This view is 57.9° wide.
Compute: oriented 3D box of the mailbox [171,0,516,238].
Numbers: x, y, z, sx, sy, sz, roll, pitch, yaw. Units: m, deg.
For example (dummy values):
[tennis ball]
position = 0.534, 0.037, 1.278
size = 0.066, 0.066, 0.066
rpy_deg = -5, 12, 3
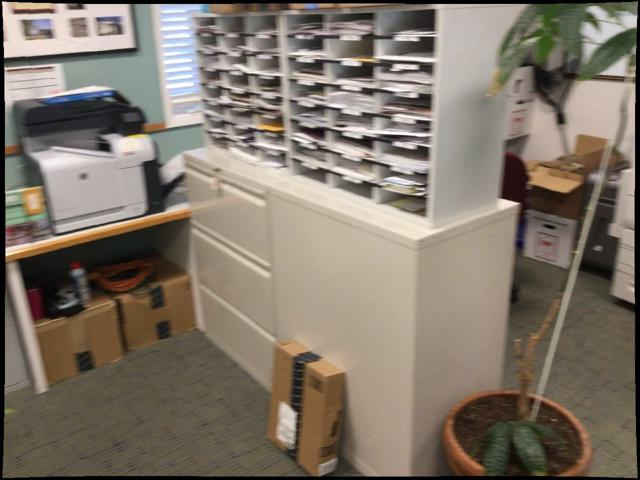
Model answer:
[mailbox]
position = -0.040, -0.571, 2.120
size = 0.350, 0.671, 1.480
rpy_deg = -19, 27, -32
